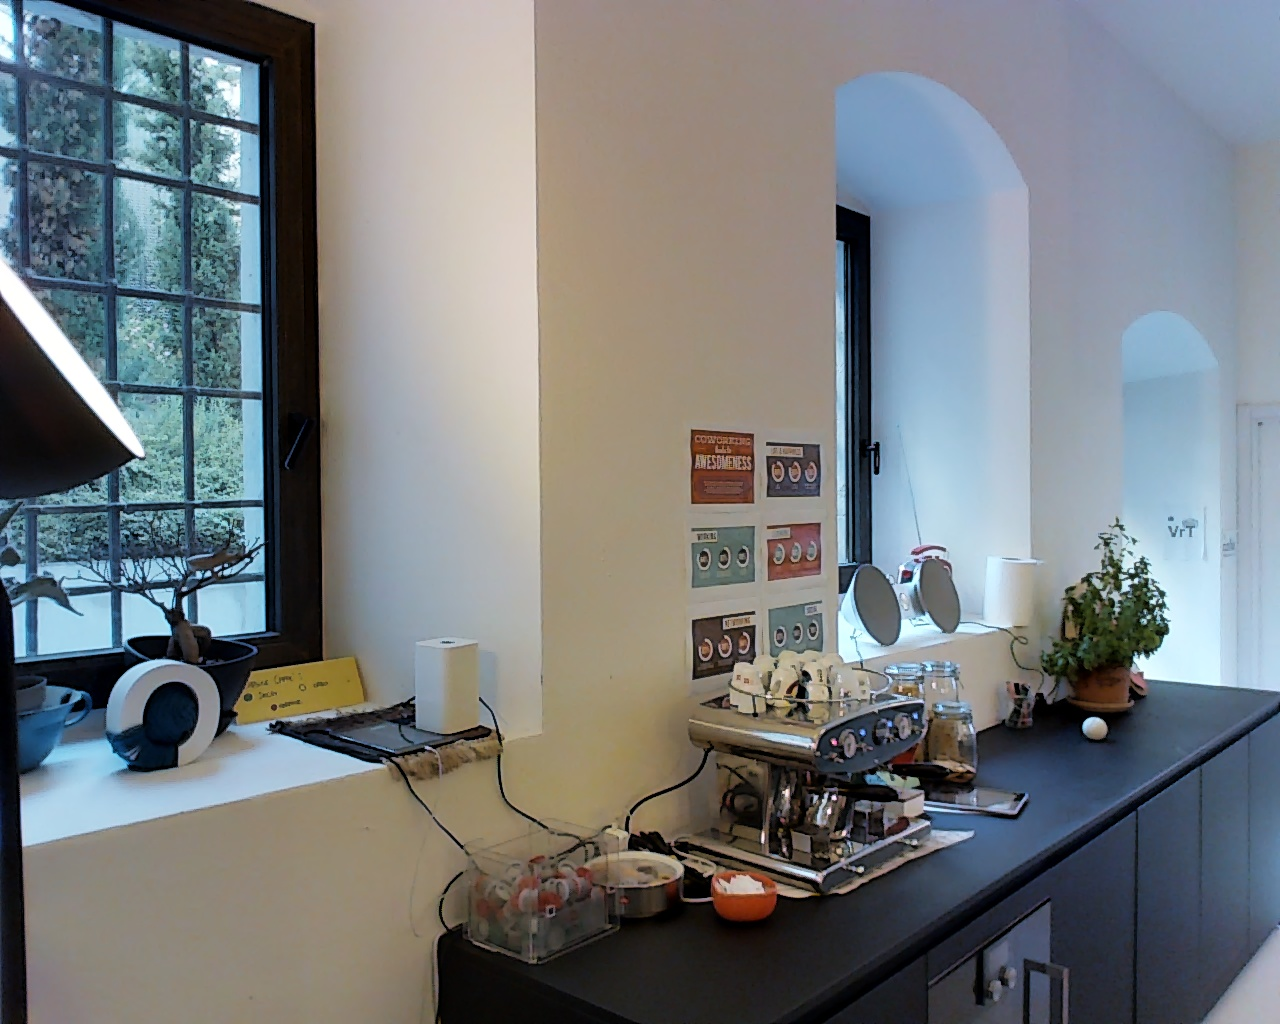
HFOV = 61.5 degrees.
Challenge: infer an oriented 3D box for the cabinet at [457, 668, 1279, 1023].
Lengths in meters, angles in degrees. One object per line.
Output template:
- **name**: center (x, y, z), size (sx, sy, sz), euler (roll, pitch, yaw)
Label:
- **cabinet**: center (1.170, 1.190, 3.070), size (0.690, 0.960, 3.670), euler (0, 1, 43)

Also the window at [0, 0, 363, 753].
- **window**: center (-1.050, -0.340, 2.000), size (0.080, 1.510, 1.170), euler (0, 1, 41)
